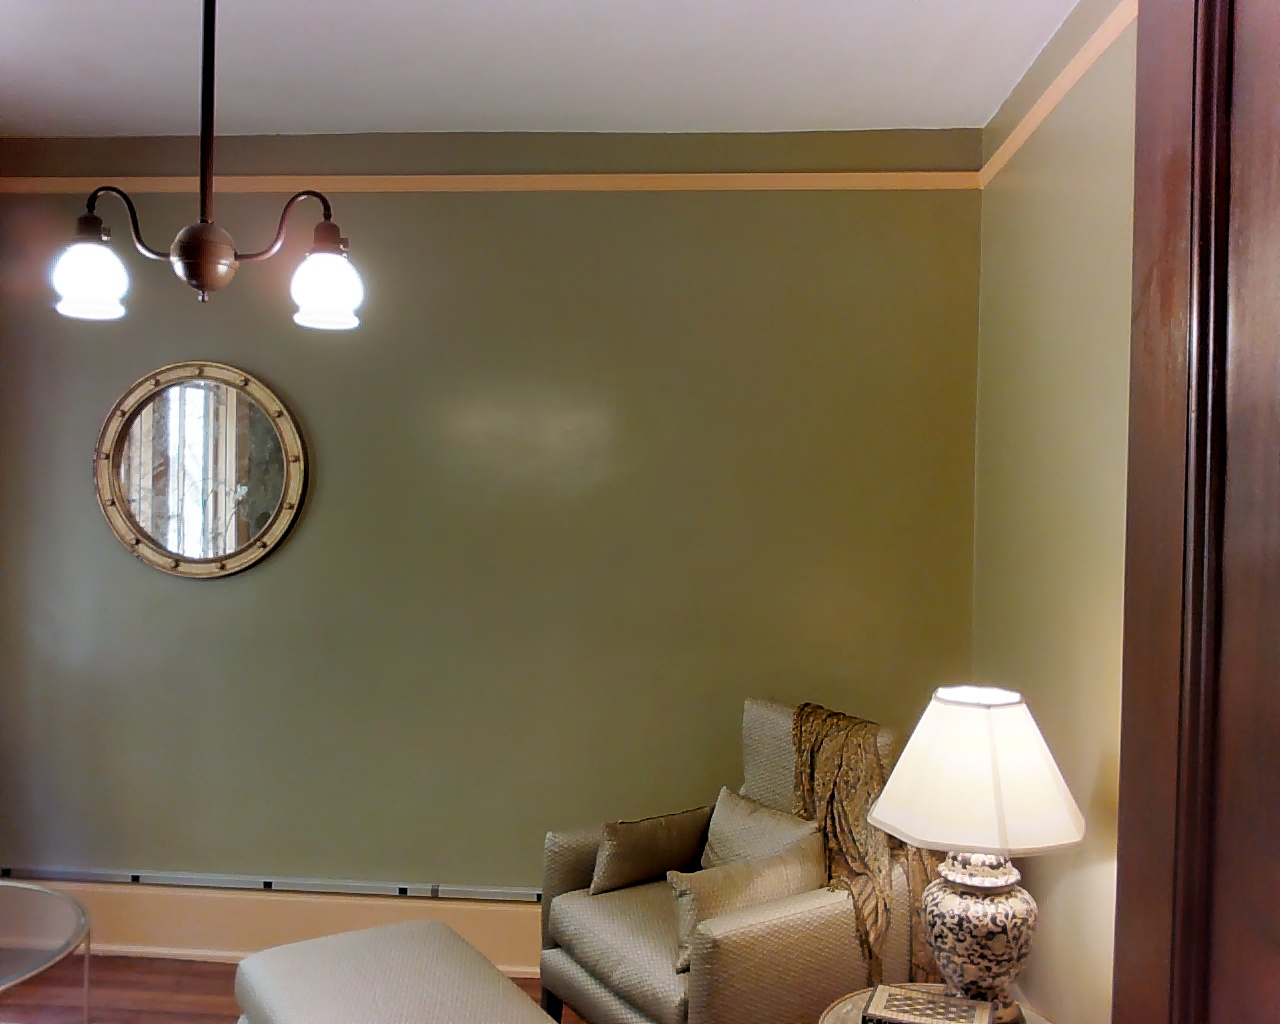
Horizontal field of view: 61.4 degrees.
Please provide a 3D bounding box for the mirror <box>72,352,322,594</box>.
[{"bbox_3d":[-1.460,-0.130,3.560,0.780,0.770,0.120,1,0,4],"label":"mirror"}]

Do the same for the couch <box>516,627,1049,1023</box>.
[{"bbox_3d":[0.340,0.960,2.860,1.020,1.170,0.940,1,0,-30],"label":"couch"}]
